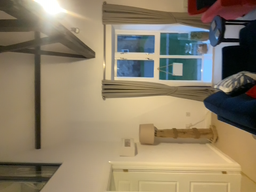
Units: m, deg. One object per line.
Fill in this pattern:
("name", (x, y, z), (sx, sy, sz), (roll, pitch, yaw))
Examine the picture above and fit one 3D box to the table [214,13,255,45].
("table", (1.450, -0.850, 2.740), (0.310, 0.540, 0.310), (-106, 17, -86))
